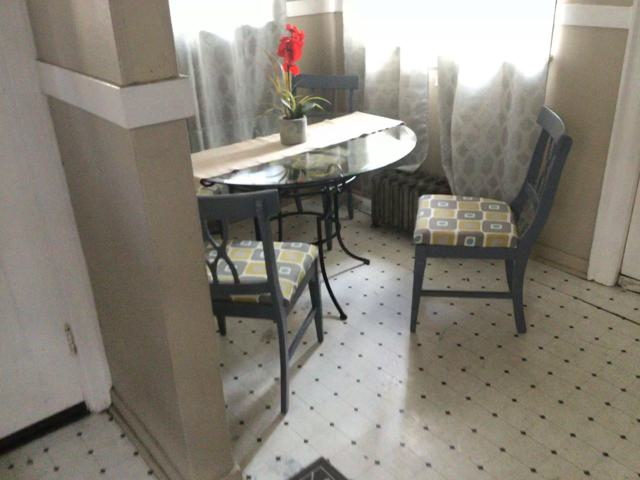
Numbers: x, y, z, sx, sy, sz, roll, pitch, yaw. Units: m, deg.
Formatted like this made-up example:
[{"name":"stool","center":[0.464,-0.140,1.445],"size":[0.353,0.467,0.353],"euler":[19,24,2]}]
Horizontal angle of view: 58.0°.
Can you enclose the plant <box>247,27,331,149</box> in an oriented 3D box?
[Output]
[{"name":"plant","center":[-0.130,-0.670,2.530],"size":[0.260,0.460,0.200],"euler":[-22,30,-34]}]

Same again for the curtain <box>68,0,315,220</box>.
[{"name":"curtain","center":[-0.630,-1.220,2.950],"size":[1.200,1.980,0.220],"euler":[-22,30,-34]}]

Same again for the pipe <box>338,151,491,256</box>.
[{"name":"pipe","center":[0.520,-0.240,3.350],"size":[0.340,0.330,0.850],"euler":[-22,30,-34]}]

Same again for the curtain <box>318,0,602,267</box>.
[{"name":"curtain","center":[0.580,-1.100,2.840],"size":[0.300,2.140,1.470],"euler":[-22,30,-34]}]
